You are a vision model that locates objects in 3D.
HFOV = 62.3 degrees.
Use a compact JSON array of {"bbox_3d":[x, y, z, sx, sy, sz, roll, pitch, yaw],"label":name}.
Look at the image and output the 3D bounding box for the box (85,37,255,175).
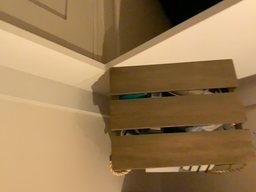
[{"bbox_3d":[0.190,0.120,0.850,0.570,0.330,0.450,-19,155,38],"label":"box"}]
